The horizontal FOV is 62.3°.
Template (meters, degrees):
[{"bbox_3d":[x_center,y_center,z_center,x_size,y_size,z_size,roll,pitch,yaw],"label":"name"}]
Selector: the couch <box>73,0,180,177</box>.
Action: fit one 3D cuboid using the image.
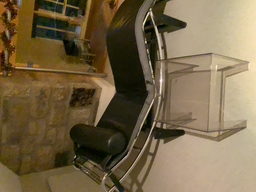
[{"bbox_3d":[-0.010,-0.190,1.690,0.500,0.690,1.370,-1,89,53],"label":"couch"}]
